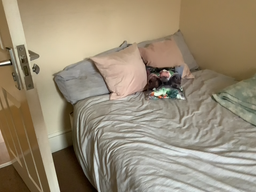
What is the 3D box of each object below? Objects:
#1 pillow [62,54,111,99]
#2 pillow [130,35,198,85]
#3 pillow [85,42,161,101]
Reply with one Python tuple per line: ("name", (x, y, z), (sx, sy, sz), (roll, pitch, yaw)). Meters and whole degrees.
("pillow", (-0.310, -0.160, 1.570), (0.240, 0.200, 0.330), (-14, 30, -26))
("pillow", (0.290, -0.340, 1.850), (0.380, 0.280, 0.440), (-15, 30, -27))
("pillow", (-0.050, -0.220, 1.640), (0.410, 0.270, 0.440), (-14, 30, -26))
